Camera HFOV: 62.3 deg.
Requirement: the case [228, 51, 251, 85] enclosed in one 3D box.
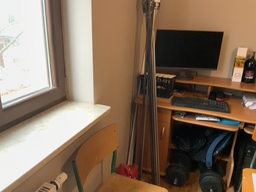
[{"bbox_3d":[1.070,-0.270,2.040,0.140,0.290,0.150,12,22,24],"label":"case"}]
